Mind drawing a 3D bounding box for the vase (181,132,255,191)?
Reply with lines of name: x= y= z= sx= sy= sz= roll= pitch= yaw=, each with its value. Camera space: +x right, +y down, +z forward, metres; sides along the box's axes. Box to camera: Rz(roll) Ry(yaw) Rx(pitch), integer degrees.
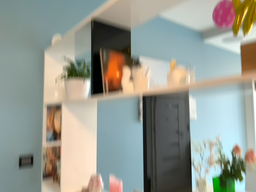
vase: x=0.880 y=0.670 z=2.070 sx=0.370 sy=0.560 sz=0.580 roll=2 pitch=-5 yaw=-34
